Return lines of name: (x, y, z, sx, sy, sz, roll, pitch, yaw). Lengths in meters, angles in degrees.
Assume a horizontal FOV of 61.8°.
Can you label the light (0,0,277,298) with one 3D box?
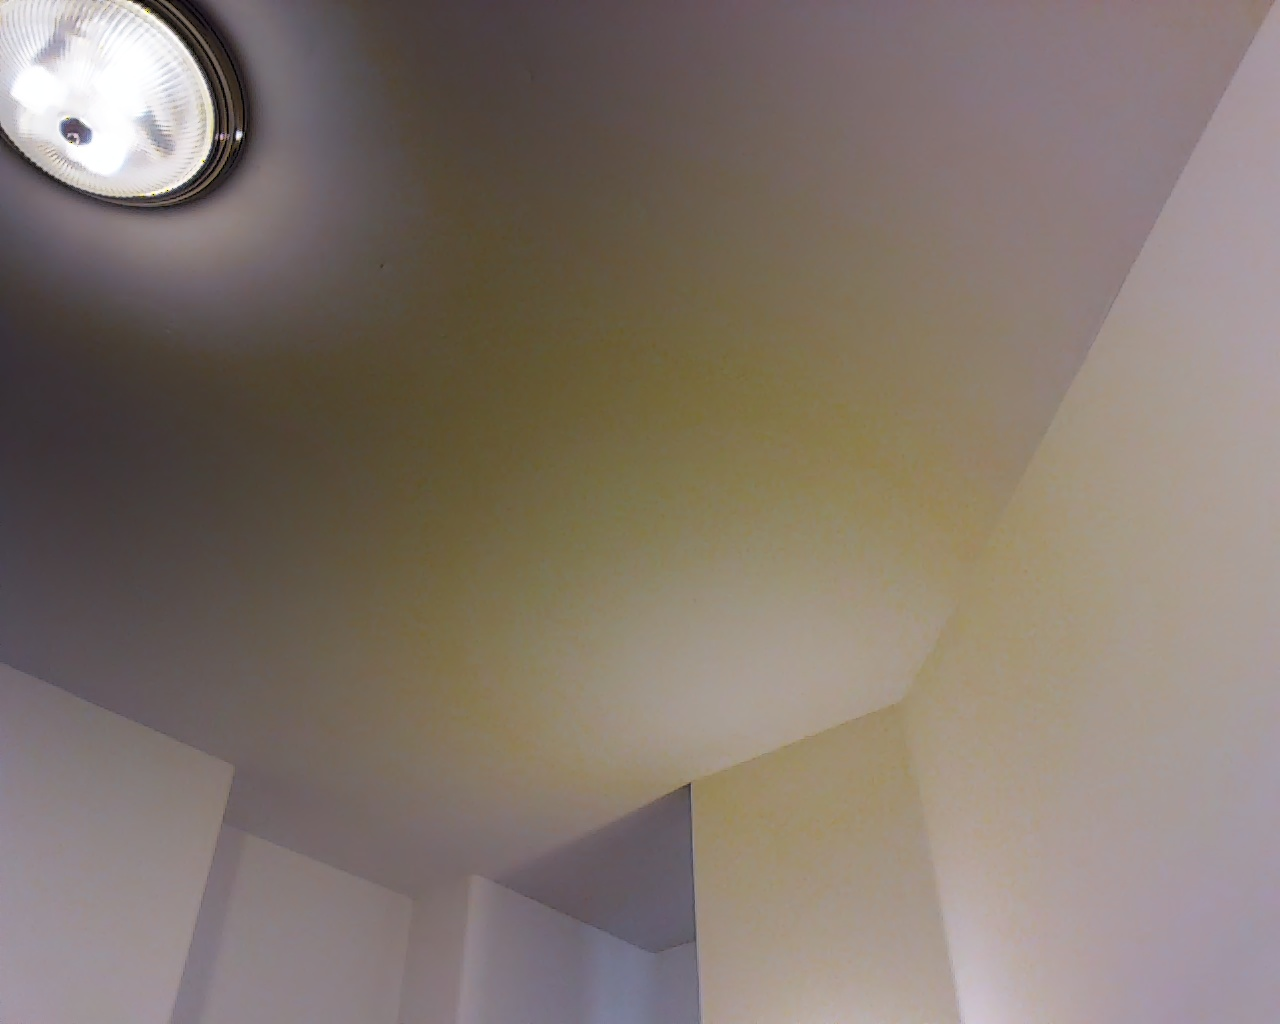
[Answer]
light: (-0.750, -0.560, 1.440, 0.390, 0.390, 0.150, -28, -3, 28)
